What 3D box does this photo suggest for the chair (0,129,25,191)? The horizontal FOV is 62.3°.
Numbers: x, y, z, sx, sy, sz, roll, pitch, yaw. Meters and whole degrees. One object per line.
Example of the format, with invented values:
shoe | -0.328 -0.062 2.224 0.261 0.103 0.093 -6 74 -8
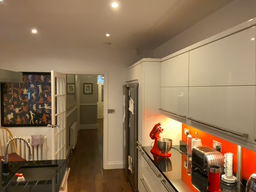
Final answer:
chair | -2.100 1.070 3.680 0.590 0.890 0.340 2 3 39
